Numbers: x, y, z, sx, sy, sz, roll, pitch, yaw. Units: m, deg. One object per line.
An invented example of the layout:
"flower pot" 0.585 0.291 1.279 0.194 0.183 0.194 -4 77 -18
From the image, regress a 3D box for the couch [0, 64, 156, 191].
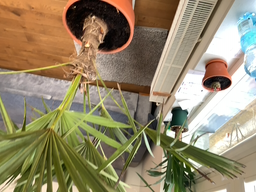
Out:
"couch" -0.940 0.410 2.600 2.300 0.950 1.050 10 150 -1
